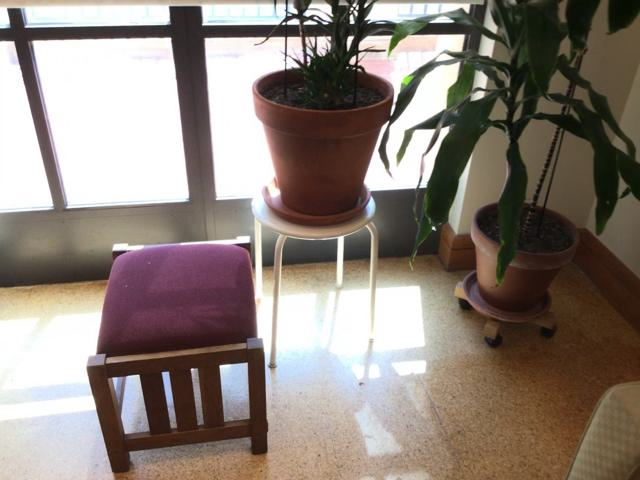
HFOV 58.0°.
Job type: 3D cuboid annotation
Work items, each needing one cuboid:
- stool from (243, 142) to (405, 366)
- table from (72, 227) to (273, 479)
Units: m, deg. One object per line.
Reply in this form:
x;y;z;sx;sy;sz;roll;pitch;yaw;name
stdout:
-0.020;0.020;1.820;0.390;0.490;0.500;-4;31;-9;stool
-0.360;0.290;1.550;0.410;0.440;0.500;-4;31;-9;table
